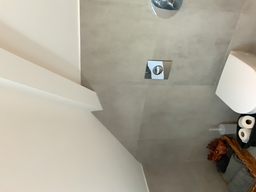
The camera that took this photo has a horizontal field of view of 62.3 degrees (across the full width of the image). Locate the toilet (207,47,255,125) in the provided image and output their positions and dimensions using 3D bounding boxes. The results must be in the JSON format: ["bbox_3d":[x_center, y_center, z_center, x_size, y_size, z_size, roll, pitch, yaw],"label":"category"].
[{"bbox_3d":[0.970,-0.090,1.620,0.480,0.420,0.380,-108,22,-54],"label":"toilet"}]

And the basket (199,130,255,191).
[{"bbox_3d":[0.990,0.660,2.070,0.540,0.270,0.380,-108,22,-54],"label":"basket"}]
